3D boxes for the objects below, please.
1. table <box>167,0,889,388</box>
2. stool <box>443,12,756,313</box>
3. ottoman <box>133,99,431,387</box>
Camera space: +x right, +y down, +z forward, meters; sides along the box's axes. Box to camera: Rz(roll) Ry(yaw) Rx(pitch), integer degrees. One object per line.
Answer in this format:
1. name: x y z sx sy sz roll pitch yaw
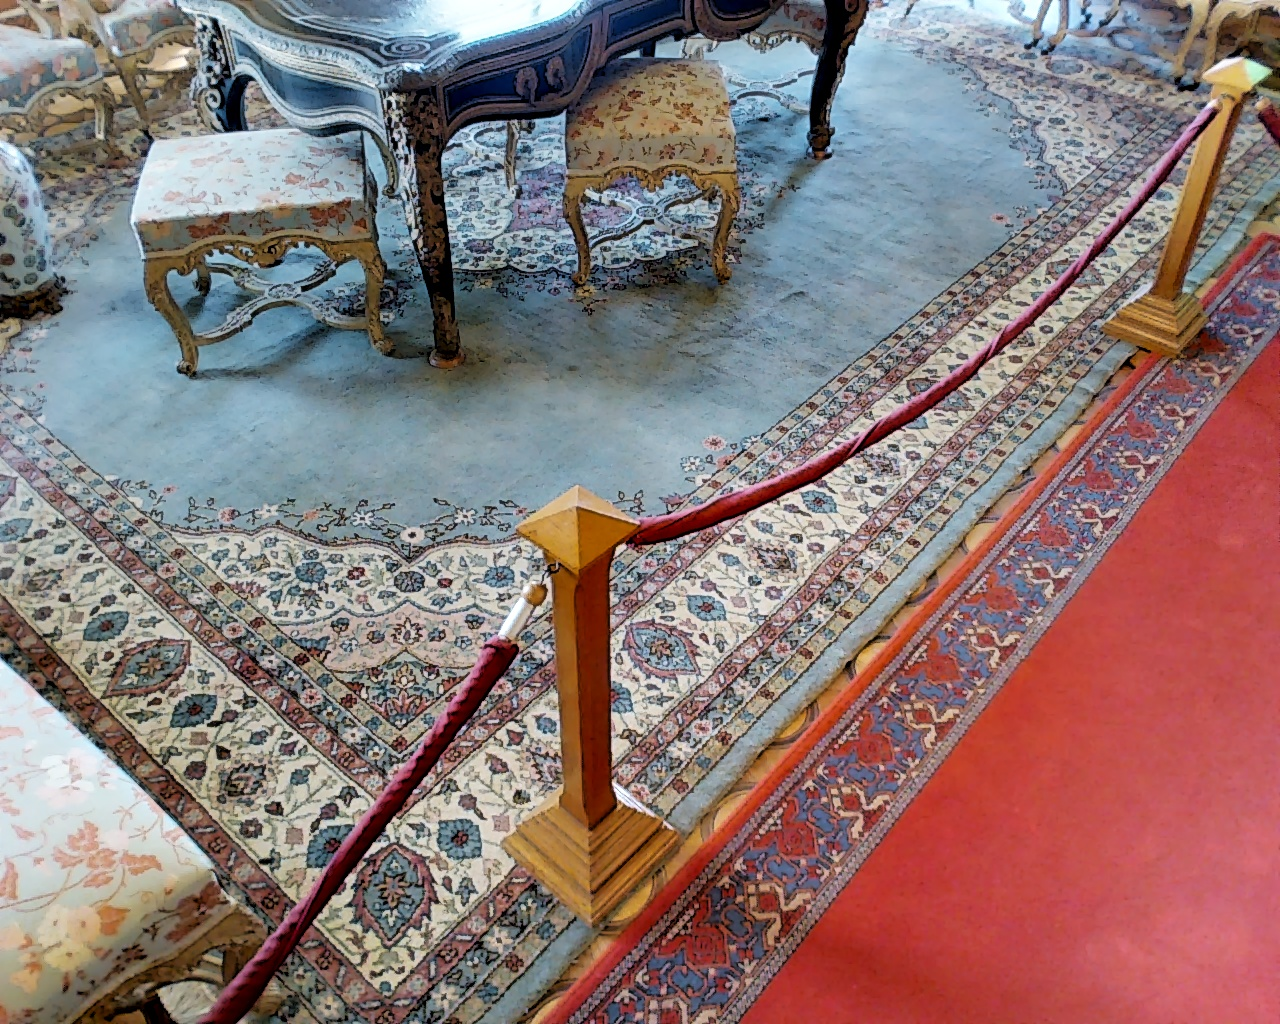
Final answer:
1. table: -0.210 -1.380 3.420 1.080 0.810 1.990 30 50 29
2. stool: -0.140 -1.130 3.400 0.840 0.560 0.890 -3 43 -3
3. ottoman: -0.960 -0.760 3.010 0.640 0.540 0.530 -8 43 -8
